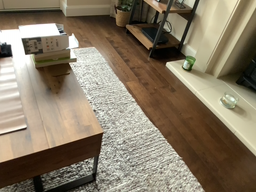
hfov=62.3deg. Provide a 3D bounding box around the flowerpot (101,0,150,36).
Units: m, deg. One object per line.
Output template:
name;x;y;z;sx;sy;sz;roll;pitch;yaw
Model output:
flowerpot;-0.010;-1.240;2.650;0.500;0.880;0.300;-13;48;-26

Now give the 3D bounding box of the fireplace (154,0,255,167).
fireplace;1.170;-0.460;1.640;1.020;1.270;1.460;-14;48;-27
